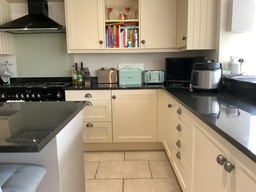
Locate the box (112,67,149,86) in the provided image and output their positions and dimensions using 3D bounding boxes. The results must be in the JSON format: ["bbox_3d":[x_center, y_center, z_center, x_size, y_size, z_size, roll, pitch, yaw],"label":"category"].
[{"bbox_3d":[0.050,-0.300,3.180,0.490,0.240,0.340,1,10,13],"label":"box"}]

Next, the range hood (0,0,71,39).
[{"bbox_3d":[-1.310,-1.130,3.000,0.840,0.560,0.470,0,10,2],"label":"range hood"}]
